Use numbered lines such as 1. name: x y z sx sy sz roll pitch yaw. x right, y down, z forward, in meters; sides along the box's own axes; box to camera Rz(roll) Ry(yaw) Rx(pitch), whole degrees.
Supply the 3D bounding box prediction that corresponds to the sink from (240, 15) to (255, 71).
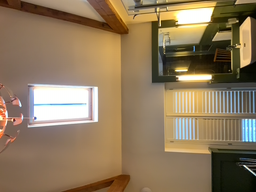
1. sink: 1.550 -0.630 2.610 0.440 0.190 0.580 3 -94 -78
